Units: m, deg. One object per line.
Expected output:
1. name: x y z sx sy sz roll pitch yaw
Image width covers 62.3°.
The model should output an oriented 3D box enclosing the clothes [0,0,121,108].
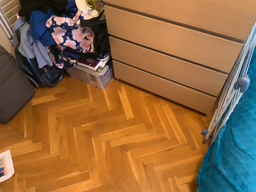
1. clothes: -0.500 -0.410 1.680 0.680 0.650 0.510 25 59 18

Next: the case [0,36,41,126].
1. case: -0.940 -0.110 1.510 0.240 0.550 0.370 27 60 20
